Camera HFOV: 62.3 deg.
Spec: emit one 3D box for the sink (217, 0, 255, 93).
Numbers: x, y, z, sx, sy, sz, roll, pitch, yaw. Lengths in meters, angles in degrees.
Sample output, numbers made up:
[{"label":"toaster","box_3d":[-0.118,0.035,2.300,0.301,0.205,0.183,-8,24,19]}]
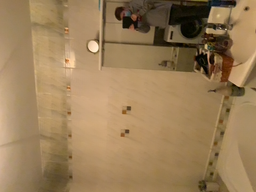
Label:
[{"label":"sink","box_3d":[0.920,-0.520,1.540,0.480,0.170,0.890,-93,7,-70]}]
